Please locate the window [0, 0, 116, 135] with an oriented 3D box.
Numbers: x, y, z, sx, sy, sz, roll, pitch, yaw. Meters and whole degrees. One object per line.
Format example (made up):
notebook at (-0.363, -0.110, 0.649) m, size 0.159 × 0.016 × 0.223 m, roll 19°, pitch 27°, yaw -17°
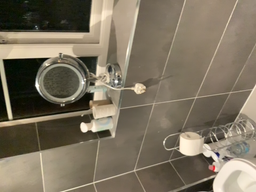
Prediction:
window at (-0.550, -0.160, 0.920) m, size 0.060 × 0.980 × 0.820 m, roll 54°, pitch 142°, yaw 46°
